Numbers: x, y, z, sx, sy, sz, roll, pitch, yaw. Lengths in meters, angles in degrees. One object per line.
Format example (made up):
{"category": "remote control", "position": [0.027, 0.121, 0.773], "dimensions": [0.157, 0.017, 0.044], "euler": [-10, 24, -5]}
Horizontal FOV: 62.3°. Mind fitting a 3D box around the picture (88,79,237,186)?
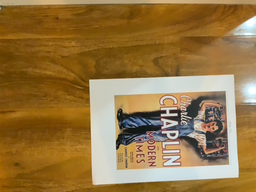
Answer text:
{"category": "picture", "position": [0.070, 0.070, 0.420], "dimensions": [0.290, 0.001, 0.200], "euler": [-2, 89, -2]}
